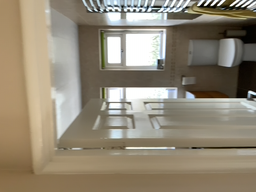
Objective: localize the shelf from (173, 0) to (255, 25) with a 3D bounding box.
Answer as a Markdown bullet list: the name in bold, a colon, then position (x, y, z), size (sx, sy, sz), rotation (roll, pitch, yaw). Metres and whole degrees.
- **shelf**: position (0.990, -0.660, 1.620), size (0.450, 1.190, 0.150), rotation (-99, 10, -80)

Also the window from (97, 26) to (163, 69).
- **window**: position (0.030, -0.770, 3.410), size (0.210, 1.010, 0.650), rotation (-98, 8, -78)
